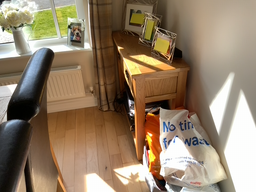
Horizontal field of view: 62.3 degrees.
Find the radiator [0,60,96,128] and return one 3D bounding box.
[{"bbox_3d":[-0.910,0.000,2.030,1.130,0.550,0.150,-7,35,-7],"label":"radiator"}]

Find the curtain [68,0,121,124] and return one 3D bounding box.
[{"bbox_3d":[-0.300,-0.740,1.670,0.330,2.320,0.180,-10,35,-11],"label":"curtain"}]

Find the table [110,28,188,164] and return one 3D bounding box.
[{"bbox_3d":[0.110,-0.050,1.760,0.350,0.760,0.840,-8,35,-8],"label":"table"}]
